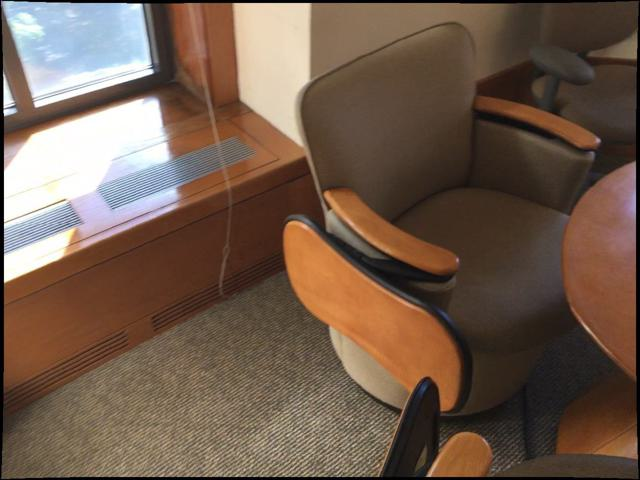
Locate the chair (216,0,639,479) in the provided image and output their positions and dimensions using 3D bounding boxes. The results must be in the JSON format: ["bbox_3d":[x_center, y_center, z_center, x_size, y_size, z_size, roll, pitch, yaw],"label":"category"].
[{"bbox_3d":[0.309,-0.010,1.450,0.779,0.801,0.770,-30,51,-33],"label":"chair"}]

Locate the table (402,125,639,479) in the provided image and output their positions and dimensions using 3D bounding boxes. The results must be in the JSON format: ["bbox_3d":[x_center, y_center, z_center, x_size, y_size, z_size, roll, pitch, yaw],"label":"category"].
[{"bbox_3d":[0.878,0.321,1.210,0.919,0.741,0.920,-26,50,-30],"label":"table"}]

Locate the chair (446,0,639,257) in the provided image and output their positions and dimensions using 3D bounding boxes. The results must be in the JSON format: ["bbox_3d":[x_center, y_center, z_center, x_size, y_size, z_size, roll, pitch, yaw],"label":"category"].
[{"bbox_3d":[0.998,-0.541,1.990,0.739,0.871,0.600,-14,44,-20],"label":"chair"}]
